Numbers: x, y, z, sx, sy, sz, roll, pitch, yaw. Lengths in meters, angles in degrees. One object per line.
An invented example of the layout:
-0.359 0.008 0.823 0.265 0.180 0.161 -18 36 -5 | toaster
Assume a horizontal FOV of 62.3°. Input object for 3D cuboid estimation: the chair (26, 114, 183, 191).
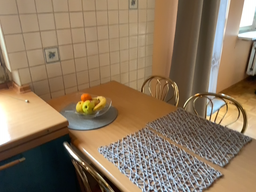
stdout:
-0.100 0.600 1.020 0.460 0.820 0.440 -20 31 -37 | chair
